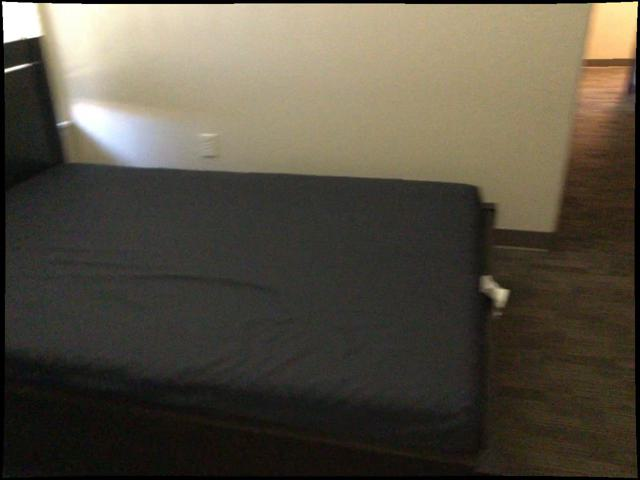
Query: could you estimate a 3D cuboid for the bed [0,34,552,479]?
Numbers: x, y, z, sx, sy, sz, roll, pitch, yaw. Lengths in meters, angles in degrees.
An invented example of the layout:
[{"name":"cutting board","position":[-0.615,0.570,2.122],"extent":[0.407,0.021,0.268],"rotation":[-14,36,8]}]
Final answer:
[{"name":"bed","position":[-0.509,-0.060,1.960],"extent":[2.188,0.991,1.460],"rotation":[5,29,14]}]
